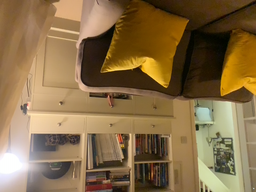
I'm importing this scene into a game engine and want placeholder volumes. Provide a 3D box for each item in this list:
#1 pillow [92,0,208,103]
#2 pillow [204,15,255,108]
[{"bbox_3d":[0.140,-0.290,1.230,0.510,0.400,0.230,41,156,-15],"label":"pillow"},{"bbox_3d":[0.880,-0.240,1.550,0.460,0.440,0.230,37,157,-12],"label":"pillow"}]
